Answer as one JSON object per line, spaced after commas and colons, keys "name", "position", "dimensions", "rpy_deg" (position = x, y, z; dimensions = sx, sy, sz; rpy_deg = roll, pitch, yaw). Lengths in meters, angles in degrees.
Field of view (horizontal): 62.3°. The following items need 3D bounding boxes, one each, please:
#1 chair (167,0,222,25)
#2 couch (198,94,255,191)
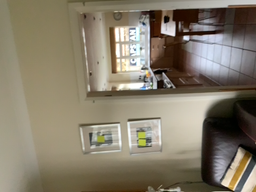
{"name": "chair", "position": [1.120, -1.500, 3.670], "dimensions": [0.510, 0.780, 0.470], "rpy_deg": [-94, 2, -75]}
{"name": "couch", "position": [1.180, 0.620, 1.810], "dimensions": [0.950, 0.820, 1.100], "rpy_deg": [-95, 3, -79]}
